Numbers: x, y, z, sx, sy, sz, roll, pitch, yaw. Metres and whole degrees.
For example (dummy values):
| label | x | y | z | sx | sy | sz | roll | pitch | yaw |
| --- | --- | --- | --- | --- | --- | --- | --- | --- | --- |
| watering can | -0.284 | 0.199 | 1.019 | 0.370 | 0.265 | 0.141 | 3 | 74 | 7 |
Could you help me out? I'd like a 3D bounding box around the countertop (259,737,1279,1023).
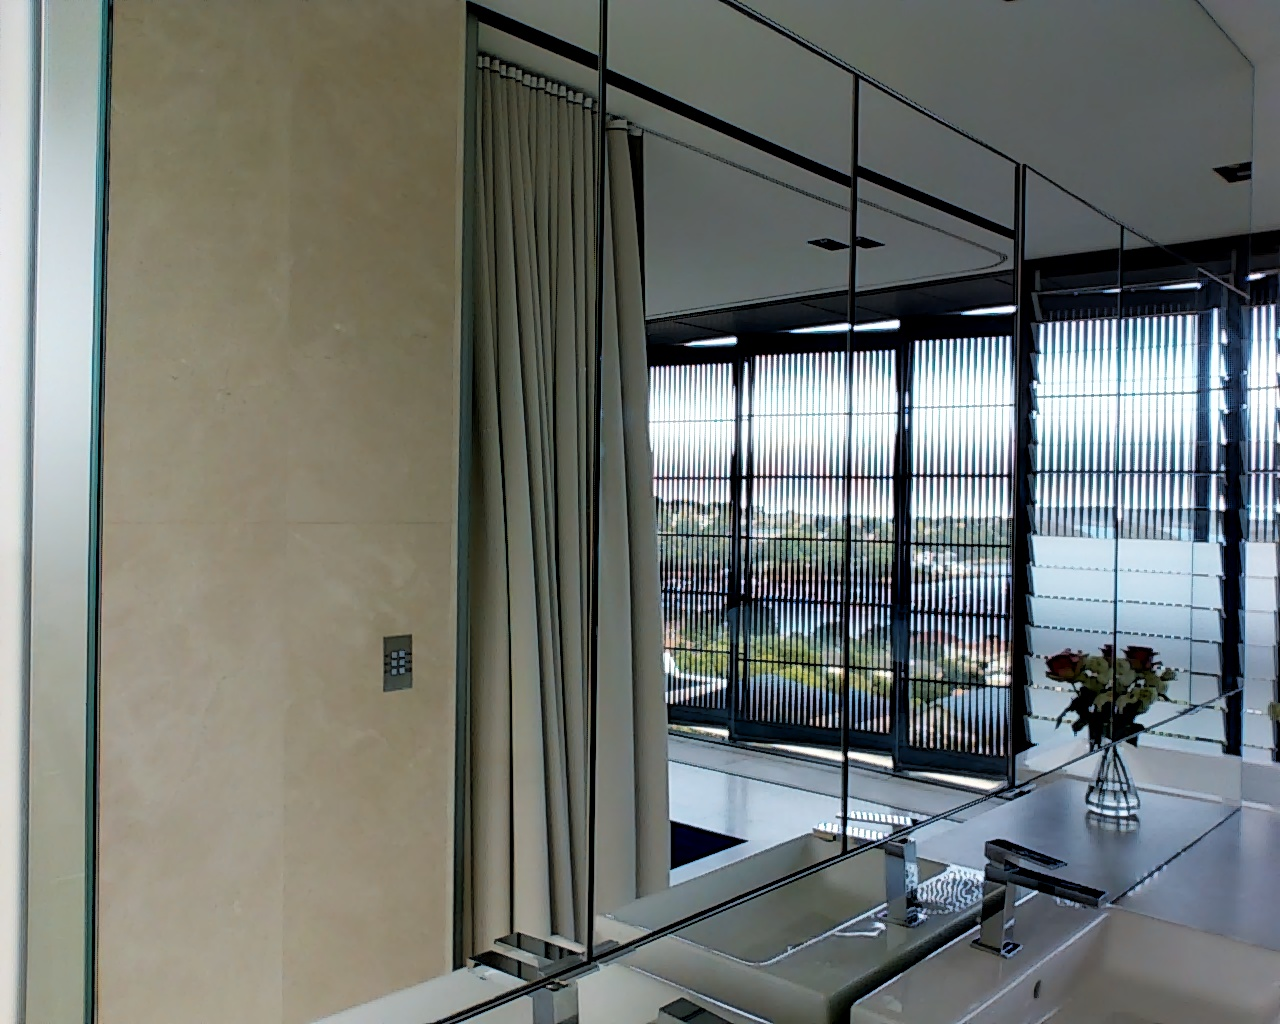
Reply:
| label | x | y | z | sx | sy | sz | roll | pitch | yaw |
| --- | --- | --- | --- | --- | --- | --- | --- | --- | --- |
| countertop | 0.610 | 0.760 | 1.740 | 0.970 | 0.230 | 2.810 | 1 | 0 | 43 |
